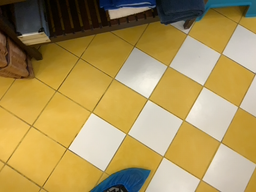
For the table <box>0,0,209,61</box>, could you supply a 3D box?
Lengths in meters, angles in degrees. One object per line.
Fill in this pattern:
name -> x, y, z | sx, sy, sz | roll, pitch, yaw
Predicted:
table -> -0.100, -0.470, 0.860 | 0.790, 0.480, 0.360 | -12, 81, -5
